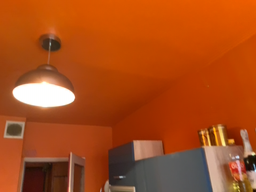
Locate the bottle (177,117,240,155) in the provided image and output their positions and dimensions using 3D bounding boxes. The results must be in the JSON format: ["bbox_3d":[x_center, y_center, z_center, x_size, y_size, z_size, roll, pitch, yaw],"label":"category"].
[{"bbox_3d":[0.490,0.260,1.320,0.260,0.180,0.220,8,-24,-25],"label":"bottle"}]

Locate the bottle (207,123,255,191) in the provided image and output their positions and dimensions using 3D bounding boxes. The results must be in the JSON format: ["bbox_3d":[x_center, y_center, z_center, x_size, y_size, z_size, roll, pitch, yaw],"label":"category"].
[{"bbox_3d":[0.640,0.310,1.000,0.280,0.300,0.370,7,-24,-23],"label":"bottle"}]

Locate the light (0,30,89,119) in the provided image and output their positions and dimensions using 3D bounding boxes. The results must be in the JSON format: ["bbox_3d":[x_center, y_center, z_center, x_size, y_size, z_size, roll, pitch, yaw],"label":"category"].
[{"bbox_3d":[-0.530,-0.110,1.360,0.410,0.310,0.360,22,-28,-16],"label":"light"}]
